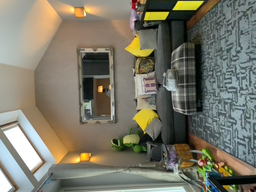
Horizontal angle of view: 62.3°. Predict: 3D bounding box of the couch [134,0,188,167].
[{"bbox_3d":[0.560,-0.280,4.030,1.190,0.730,2.820,-152,61,-86],"label":"couch"}]
